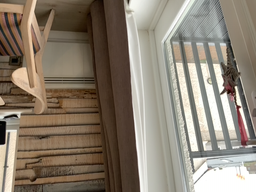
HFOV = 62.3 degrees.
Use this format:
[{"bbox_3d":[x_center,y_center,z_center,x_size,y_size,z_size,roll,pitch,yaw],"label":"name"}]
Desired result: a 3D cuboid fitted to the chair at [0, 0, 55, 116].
[{"bbox_3d":[-0.780,-0.360,1.310,0.530,0.860,0.550,0,161,-12],"label":"chair"}]
